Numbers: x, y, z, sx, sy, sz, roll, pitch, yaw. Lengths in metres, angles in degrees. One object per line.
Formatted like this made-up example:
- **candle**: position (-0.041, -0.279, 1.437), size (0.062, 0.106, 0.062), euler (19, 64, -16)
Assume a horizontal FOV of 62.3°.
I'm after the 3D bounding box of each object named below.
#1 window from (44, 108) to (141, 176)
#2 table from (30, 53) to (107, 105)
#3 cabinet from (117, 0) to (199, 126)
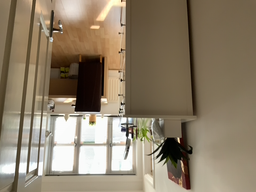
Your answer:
- **window**: position (-0.660, 0.900, 4.220), size (1.820, 1.280, 0.150), euler (1, 168, -3)
- **table**: position (-1.020, -0.270, 3.950), size (1.190, 0.760, 0.830), euler (1, 168, -3)
- **cabinet**: position (0.180, -0.390, 2.000), size (0.520, 1.280, 0.970), euler (1, 168, -5)
